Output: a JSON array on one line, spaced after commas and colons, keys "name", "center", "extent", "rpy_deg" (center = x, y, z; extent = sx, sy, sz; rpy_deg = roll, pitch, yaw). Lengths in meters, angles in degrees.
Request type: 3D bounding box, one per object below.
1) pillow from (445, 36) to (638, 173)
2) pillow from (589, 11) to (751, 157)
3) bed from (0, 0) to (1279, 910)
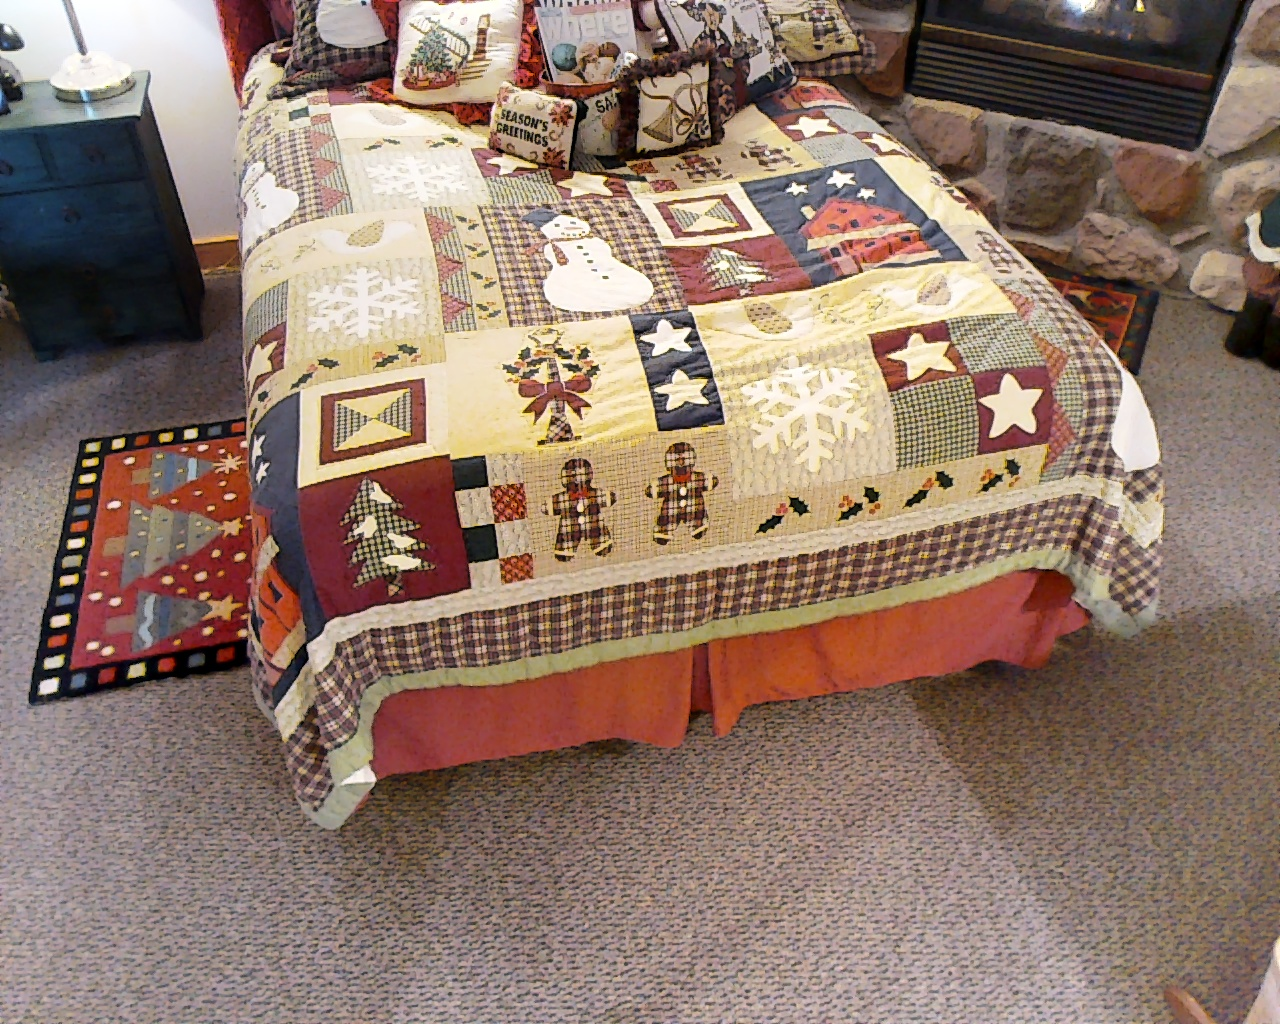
[{"name": "pillow", "center": [-0.190, -0.820, 2.150], "extent": [0.270, 0.130, 0.270], "rpy_deg": [22, 46, 22]}, {"name": "pillow", "center": [0.060, -0.850, 2.130], "extent": [0.290, 0.180, 0.140], "rpy_deg": [-28, 49, -28]}, {"name": "bed", "center": [-0.080, -0.760, 2.020], "extent": [1.420, 1.490, 2.120], "rpy_deg": [-10, 43, -11]}]
